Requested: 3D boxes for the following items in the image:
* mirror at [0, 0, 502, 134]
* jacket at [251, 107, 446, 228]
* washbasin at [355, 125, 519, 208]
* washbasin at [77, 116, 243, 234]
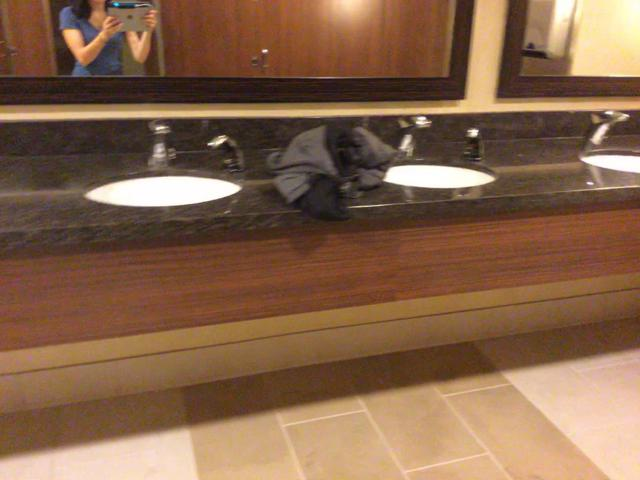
[{"bbox_3d":[-0.440,-0.680,1.620,2.060,0.640,0.150,0,20,-17],"label":"mirror"},{"bbox_3d":[0.050,-0.190,1.460,0.380,0.220,0.340,0,20,-17],"label":"jacket"},{"bbox_3d":[0.350,-0.240,1.830,0.360,0.170,0.370,0,20,-17],"label":"washbasin"},{"bbox_3d":[-0.430,-0.180,1.570,0.390,0.250,0.270,0,20,-17],"label":"washbasin"}]
